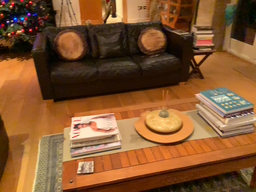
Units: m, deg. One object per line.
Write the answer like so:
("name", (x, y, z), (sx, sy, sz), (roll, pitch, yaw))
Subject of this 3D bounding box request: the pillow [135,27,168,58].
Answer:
("pillow", (0.330, -0.770, 3.050), (0.390, 0.380, 0.150), (-9, 0, -15))

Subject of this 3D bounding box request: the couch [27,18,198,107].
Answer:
("couch", (-0.200, -0.550, 2.920), (1.920, 0.750, 0.940), (-8, 30, -13))

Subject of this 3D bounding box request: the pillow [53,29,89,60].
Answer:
("pillow", (-0.750, -0.680, 2.790), (0.390, 0.350, 0.150), (-10, 11, -18))
